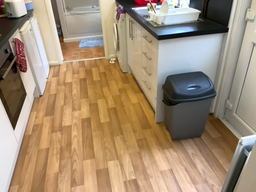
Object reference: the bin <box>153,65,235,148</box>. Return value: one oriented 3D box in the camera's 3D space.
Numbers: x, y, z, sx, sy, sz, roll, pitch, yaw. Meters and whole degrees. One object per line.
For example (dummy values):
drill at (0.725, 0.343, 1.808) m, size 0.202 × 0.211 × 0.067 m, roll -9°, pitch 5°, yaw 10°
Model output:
bin at (0.560, 0.090, 1.940) m, size 0.540 × 0.590 × 0.340 m, roll -10°, pitch 34°, yaw -13°
